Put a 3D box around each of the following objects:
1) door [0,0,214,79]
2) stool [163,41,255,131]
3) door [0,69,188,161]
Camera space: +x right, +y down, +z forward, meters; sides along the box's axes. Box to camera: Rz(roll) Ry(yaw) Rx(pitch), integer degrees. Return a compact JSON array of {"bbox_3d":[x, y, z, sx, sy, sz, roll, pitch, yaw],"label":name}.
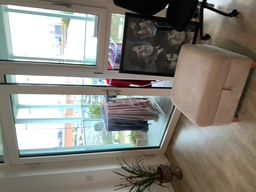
[{"bbox_3d":[-0.300,-0.980,2.190,0.100,2.610,1.630,-116,31,-56],"label":"door"},{"bbox_3d":[0.720,-0.120,1.990,0.600,0.450,0.650,-125,39,-62],"label":"stool"},{"bbox_3d":[-0.550,0.320,2.980,0.110,2.590,1.400,-112,28,-52],"label":"door"}]
